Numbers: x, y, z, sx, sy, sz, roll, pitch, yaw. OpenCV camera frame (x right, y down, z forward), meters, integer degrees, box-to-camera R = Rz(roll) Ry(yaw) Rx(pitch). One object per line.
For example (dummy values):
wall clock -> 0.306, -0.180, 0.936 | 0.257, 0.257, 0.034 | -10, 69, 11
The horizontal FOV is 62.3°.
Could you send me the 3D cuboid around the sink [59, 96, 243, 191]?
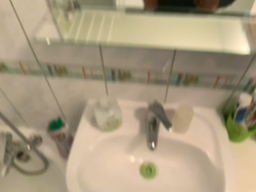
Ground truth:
sink -> 0.080, 0.220, 0.740 | 0.510, 0.180, 0.360 | 5, 53, 5
